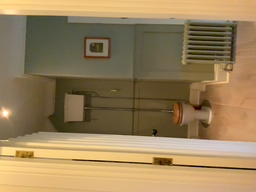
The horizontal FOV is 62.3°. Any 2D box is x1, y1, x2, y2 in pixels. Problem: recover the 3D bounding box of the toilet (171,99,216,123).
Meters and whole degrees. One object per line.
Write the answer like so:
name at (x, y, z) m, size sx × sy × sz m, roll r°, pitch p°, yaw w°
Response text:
toilet at (1.050, 0.230, 3.520) m, size 0.760 × 0.520 × 0.330 m, roll 16°, pitch -104°, yaw -88°
